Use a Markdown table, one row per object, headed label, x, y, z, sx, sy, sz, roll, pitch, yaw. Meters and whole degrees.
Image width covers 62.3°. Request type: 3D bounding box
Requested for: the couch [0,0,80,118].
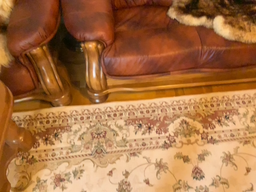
| label | x | y | z | sx | sy | sz | roll | pitch | yaw |
| --- | --- | --- | --- | --- | --- | --- | --- | --- | --- |
| couch | -0.910 | -0.470 | 1.320 | 1.030 | 0.870 | 0.920 | -5 | 57 | -3 |
